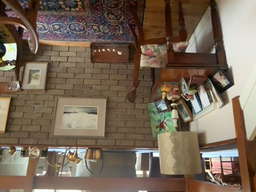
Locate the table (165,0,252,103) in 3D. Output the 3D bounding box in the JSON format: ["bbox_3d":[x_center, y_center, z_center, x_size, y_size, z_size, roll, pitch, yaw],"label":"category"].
[{"bbox_3d":[0.710,-0.440,2.200,0.480,0.780,1.010,1,163,1],"label":"table"}]
